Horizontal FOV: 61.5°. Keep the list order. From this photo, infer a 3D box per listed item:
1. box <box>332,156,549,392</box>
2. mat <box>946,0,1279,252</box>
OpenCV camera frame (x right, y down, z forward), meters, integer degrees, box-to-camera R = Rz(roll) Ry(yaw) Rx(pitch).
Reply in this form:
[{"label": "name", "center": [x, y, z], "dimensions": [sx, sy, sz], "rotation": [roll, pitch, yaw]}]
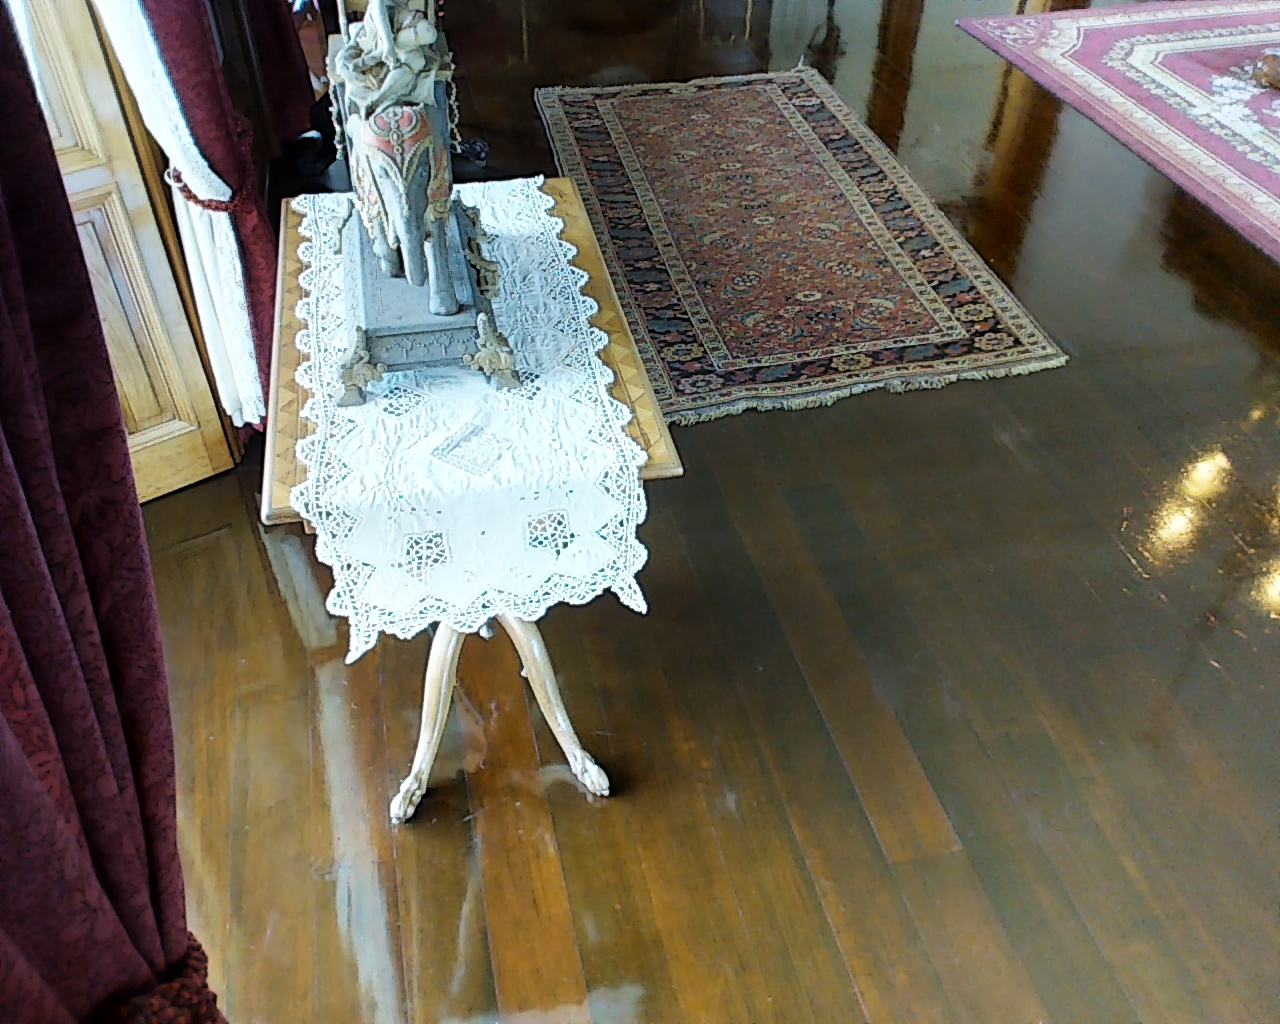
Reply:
[{"label": "box", "center": [-0.290, -0.350, 1.510], "dimensions": [0.250, 0.100, 0.430], "rotation": [-9, 43, -10]}, {"label": "mat", "center": [2.780, -1.510, 3.930], "dimensions": [2.250, 0.070, 2.850], "rotation": [-9, 43, -10]}]
